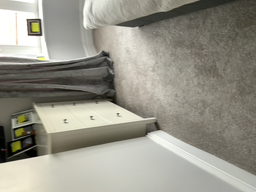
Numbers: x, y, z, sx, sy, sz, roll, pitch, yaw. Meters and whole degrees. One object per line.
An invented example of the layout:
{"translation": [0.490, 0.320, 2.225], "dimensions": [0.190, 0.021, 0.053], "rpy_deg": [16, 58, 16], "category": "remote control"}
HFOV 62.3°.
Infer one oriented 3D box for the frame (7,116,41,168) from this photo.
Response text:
{"translation": [-1.110, 0.470, 2.240], "dimensions": [0.440, 0.210, 0.250], "rpy_deg": [54, 131, 32], "category": "frame"}
